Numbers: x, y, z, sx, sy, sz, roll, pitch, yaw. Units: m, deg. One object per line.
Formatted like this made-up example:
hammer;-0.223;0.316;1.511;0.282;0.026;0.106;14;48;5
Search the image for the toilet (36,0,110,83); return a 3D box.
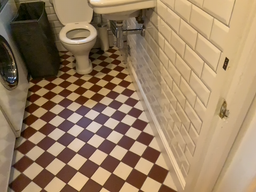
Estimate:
toilet;-0.520;-0.760;2.100;0.510;0.950;0.720;-9;41;-9
